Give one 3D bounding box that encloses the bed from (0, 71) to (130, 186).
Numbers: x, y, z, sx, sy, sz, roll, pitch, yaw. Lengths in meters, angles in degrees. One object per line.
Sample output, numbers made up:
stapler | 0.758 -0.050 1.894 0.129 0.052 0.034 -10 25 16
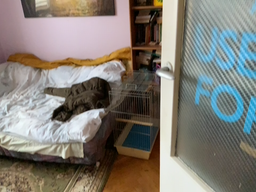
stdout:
bed | -1.080 0.170 2.330 1.960 0.420 1.310 3 26 12
